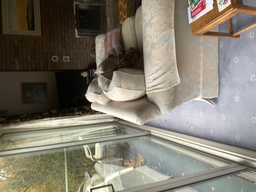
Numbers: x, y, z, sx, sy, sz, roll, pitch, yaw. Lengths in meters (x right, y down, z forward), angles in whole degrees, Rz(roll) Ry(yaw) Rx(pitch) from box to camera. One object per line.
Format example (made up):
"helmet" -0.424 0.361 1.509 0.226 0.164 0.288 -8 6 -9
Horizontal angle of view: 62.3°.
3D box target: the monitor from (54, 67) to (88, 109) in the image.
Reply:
"monitor" -1.190 -0.190 4.410 0.060 0.590 0.920 128 134 -58
